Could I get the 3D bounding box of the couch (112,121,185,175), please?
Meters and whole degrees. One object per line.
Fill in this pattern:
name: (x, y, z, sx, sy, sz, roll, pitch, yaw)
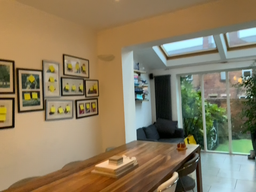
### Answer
couch: (0.550, 1.060, 4.850, 0.960, 0.760, 1.760, -3, 0, 32)
